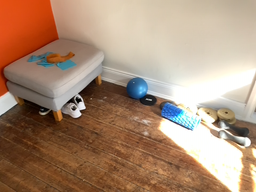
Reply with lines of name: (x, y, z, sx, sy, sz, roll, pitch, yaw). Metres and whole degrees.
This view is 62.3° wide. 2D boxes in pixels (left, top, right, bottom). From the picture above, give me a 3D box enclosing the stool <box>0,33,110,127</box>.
stool: (-0.720, -0.230, 2.200, 0.700, 0.450, 0.870, 16, 42, 21)
